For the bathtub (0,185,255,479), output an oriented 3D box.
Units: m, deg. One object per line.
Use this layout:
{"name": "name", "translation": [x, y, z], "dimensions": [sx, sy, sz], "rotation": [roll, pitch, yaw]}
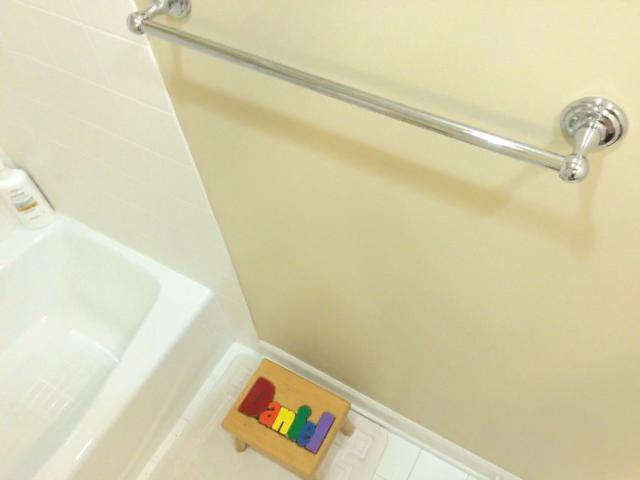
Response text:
{"name": "bathtub", "translation": [-0.940, 0.620, 1.570], "dimensions": [0.800, 0.450, 1.430], "rotation": [24, 60, 20]}
